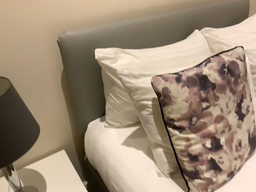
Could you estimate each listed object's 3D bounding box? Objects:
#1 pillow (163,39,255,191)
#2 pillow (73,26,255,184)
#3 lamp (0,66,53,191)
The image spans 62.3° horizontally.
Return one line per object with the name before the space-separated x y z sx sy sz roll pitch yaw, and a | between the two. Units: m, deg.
pillow | 0.310 0.090 0.750 0.430 0.390 0.110 -41 57 -20
pillow | 0.210 -0.060 0.950 0.720 0.300 0.500 -20 35 -26
lamp | -0.470 0.220 0.790 0.220 0.540 0.360 -22 36 -28
